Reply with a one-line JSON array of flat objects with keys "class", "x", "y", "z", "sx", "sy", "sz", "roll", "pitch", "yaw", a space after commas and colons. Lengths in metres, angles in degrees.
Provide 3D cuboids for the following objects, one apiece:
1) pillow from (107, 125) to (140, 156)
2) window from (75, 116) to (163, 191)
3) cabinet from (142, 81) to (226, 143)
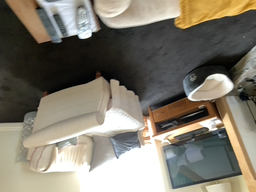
[{"class": "pillow", "x": -0.060, "y": 0.570, "z": 2.670, "sx": 0.360, "sy": 0.250, "sz": 0.390, "roll": -6, "pitch": 153, "yaw": -5}, {"class": "window", "x": -0.140, "y": 1.420, "z": 3.320, "sx": 1.300, "sy": 2.240, "sz": 0.270, "roll": 0, "pitch": 152, "yaw": -16}, {"class": "cabinet", "x": 0.790, "y": 0.270, "z": 3.090, "sx": 1.000, "sy": 0.510, "sz": 0.470, "roll": -21, "pitch": 151, "yaw": 23}]
